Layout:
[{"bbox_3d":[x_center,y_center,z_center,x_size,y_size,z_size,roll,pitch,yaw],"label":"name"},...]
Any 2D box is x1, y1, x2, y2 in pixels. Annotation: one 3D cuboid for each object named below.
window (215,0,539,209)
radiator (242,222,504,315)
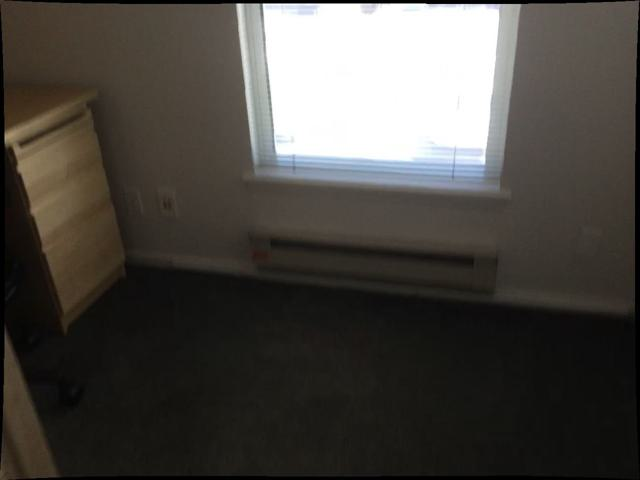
[{"bbox_3d":[0.160,-0.591,1.840,0.959,0.931,0.150,6,31,13],"label":"window"},{"bbox_3d":[0.180,0.100,2.160,0.949,0.240,0.080,6,31,13],"label":"radiator"}]
